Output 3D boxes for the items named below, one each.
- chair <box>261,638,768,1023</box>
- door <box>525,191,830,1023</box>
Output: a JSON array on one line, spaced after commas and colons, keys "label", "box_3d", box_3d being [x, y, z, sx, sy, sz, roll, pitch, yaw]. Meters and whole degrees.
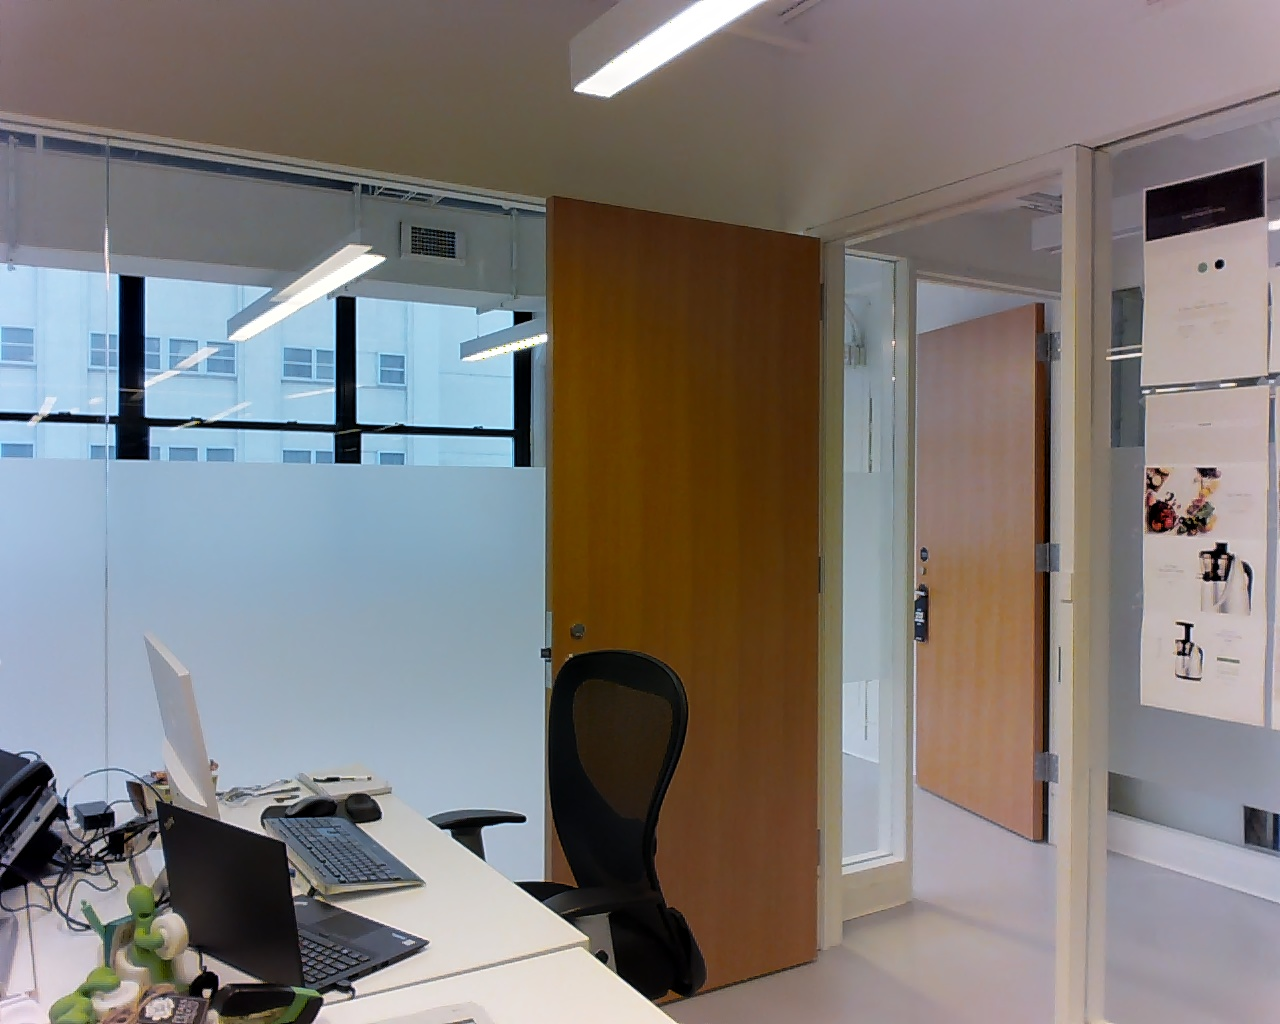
[{"label": "chair", "box_3d": [-0.290, 0.870, 2.190, 0.770, 1.090, 0.790, 0, 1, -31]}, {"label": "door", "box_3d": [0.140, 0.290, 3.070, 1.000, 2.240, 0.070, 0, 1, -32]}]
